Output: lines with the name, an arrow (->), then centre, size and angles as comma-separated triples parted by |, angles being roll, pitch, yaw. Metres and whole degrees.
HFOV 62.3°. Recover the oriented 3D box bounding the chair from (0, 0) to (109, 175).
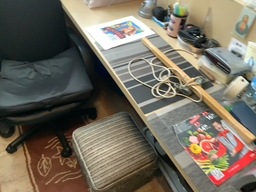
chair -> -0.540, -0.120, 1.300 | 0.640, 0.810, 0.720 | -15, 51, -18
